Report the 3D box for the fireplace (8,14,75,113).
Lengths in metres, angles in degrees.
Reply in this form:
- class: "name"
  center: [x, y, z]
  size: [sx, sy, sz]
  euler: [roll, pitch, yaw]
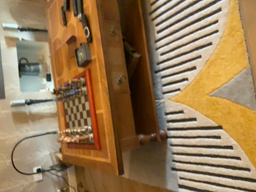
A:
- class: "fireplace"
  center: [-1.150, -0.360, 2.760]
  size: [0.740, 0.540, 1.030]
  euler: [-15, 82, 52]
